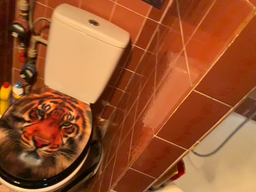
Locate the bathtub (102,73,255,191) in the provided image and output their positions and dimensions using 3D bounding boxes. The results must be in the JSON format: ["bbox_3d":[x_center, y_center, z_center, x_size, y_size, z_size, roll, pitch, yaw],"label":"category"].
[{"bbox_3d":[0.580,0.520,1.220,1.310,0.580,0.660,22,39,-7],"label":"bathtub"}]

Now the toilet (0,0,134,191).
[{"bbox_3d":[-0.330,0.090,0.980,0.370,0.780,0.660,22,39,-8],"label":"toilet"}]
